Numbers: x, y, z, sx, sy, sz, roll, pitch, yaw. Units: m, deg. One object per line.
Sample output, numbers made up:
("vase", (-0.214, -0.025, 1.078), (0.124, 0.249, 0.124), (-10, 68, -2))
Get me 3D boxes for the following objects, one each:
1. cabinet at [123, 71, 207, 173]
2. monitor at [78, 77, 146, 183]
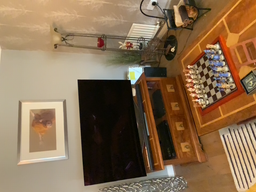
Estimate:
("cabinet", (0.410, 0.350, 2.790), (0.700, 0.630, 1.140), (132, 134, -61))
("monitor", (-0.210, 0.350, 2.560), (0.080, 0.700, 1.220), (130, 136, -61))
